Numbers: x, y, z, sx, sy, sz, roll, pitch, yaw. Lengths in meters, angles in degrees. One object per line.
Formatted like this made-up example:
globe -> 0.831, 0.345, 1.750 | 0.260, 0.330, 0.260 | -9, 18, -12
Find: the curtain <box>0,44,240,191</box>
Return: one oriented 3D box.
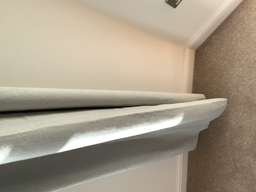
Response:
curtain -> -0.290, 0.110, 0.400 | 0.350, 2.340, 0.330 | -7, 84, 40
